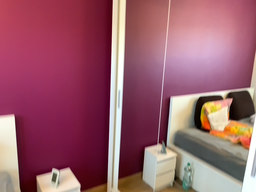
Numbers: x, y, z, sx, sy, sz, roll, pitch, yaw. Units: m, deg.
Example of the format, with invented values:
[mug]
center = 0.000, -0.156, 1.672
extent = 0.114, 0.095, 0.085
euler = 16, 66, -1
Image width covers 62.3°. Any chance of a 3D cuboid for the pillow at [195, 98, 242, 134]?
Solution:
[pillow]
center = 1.250, 0.260, 2.910
extent = 0.600, 0.360, 0.220
euler = -4, 19, -31
